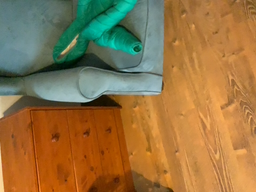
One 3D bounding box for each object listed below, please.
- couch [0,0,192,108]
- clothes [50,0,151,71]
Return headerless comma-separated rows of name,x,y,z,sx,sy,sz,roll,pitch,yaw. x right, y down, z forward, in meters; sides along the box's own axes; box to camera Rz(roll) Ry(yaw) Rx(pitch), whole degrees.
couch,-0.330,-0.360,1.100,0.950,1.010,0.770,3,89,37
clothes,-0.150,-0.370,1.000,0.520,0.120,0.460,2,88,37
